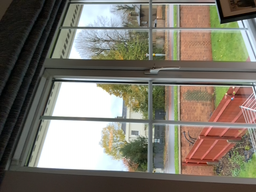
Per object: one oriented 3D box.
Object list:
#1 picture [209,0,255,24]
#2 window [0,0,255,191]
[{"bbox_3d":[0.590,-0.530,1.130,0.080,0.240,0.350,89,168,-50],"label":"picture"},{"bbox_3d":[0.160,-0.410,1.130,0.330,1.090,1.730,87,-174,-57],"label":"window"}]
